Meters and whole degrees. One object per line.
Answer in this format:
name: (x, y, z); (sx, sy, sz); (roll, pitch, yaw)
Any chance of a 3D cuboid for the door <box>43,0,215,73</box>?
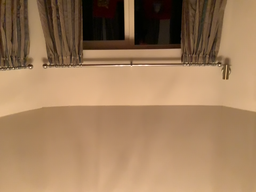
door: (0.010, -1.310, 2.360); (1.890, 2.080, 0.190); (-1, -165, 1)
